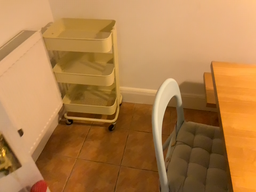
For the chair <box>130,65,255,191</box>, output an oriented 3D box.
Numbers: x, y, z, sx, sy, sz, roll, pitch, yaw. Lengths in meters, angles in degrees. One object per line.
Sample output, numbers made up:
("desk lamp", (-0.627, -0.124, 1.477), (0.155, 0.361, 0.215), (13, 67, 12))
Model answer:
("chair", (0.330, 0.370, 1.080), (0.530, 0.820, 0.560), (8, 43, 10))
